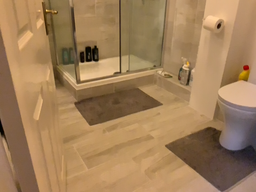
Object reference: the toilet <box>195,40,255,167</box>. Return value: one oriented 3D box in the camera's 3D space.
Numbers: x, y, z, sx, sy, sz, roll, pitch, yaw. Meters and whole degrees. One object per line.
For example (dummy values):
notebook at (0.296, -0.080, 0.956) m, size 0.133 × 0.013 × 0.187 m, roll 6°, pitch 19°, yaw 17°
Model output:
toilet at (0.900, 0.020, 1.590) m, size 0.550 × 0.760 × 0.380 m, roll -14°, pitch 30°, yaw -29°

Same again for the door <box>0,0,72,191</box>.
door at (-0.330, -0.290, 0.680) m, size 0.100 × 2.150 × 0.910 m, roll -5°, pitch 27°, yaw -13°
